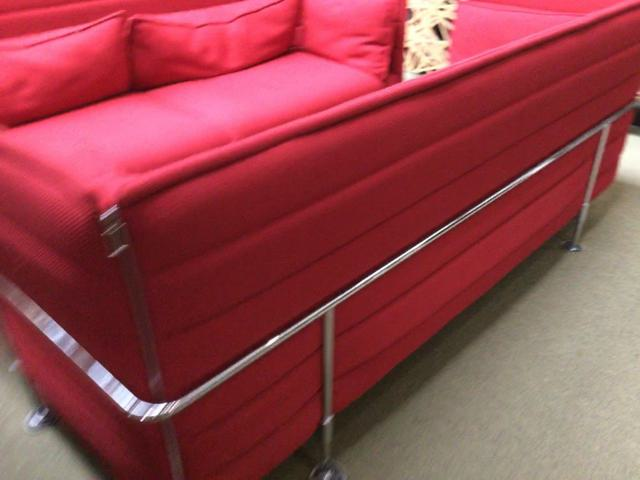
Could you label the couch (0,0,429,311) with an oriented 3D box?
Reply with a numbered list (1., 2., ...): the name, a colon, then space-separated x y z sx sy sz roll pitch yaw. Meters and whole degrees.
1. couch: -0.630 -0.720 2.470 0.930 0.880 2.450 26 40 35
